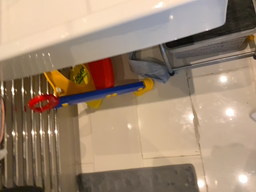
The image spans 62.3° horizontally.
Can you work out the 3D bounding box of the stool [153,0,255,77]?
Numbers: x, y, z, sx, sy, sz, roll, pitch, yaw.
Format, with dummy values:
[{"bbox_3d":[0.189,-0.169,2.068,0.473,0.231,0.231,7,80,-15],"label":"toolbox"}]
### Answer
[{"bbox_3d":[0.370,-0.330,0.990,0.430,0.260,0.360,-9,80,19],"label":"stool"}]
